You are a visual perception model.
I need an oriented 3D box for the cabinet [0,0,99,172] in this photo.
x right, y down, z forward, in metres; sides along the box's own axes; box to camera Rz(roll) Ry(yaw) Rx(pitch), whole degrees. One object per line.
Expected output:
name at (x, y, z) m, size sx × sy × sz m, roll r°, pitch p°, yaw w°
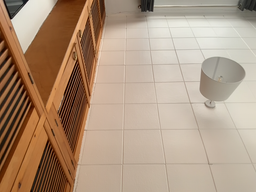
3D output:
cabinet at (-0.490, -0.190, 1.710) m, size 0.300 × 0.690 × 1.350 m, roll 0°, pitch -136°, yaw 1°
